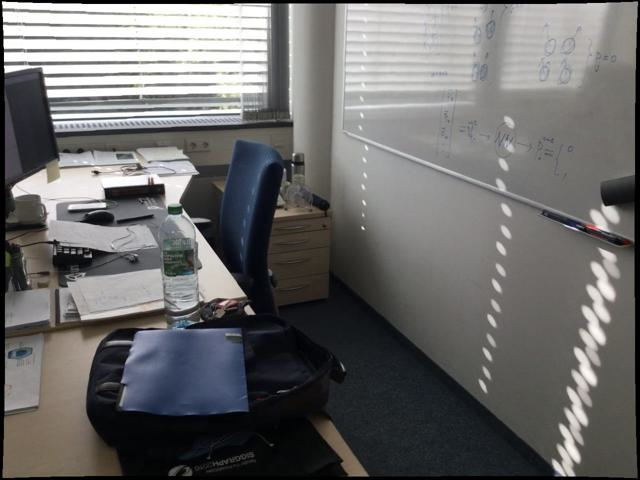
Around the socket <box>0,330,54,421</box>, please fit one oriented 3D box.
[{"bbox_3d":[-0.659,0.280,1.190,0.200,0.010,0.290,-8,24,-23],"label":"socket"}]

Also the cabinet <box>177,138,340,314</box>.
[{"bbox_3d":[-0.400,-0.150,3.340,0.600,0.621,1.070,-8,24,-22],"label":"cabinet"}]
